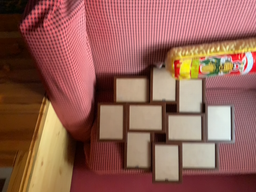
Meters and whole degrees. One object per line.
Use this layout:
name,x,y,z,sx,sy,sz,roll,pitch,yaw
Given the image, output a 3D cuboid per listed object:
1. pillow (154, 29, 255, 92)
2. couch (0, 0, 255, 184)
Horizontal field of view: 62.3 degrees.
pillow,0.470,-0.160,0.990,0.670,0.130,0.260,-2,144,2
couch,0.360,-0.090,1.170,1.450,0.830,1.030,-1,144,1
